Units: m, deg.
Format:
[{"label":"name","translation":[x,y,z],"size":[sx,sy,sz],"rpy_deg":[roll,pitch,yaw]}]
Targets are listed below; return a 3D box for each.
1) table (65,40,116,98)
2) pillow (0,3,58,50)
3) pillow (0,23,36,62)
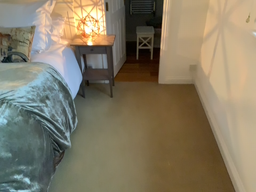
[{"label":"table","translation":[-0.430,-0.340,2.630],"size":[0.490,0.610,0.360],"rpy_deg":[1,33,3]},{"label":"pillow","translation":[-1.120,-0.730,2.200],"size":[0.620,0.380,0.350],"rpy_deg":[1,33,3]},{"label":"pillow","translation":[-1.110,-0.510,2.030],"size":[0.350,0.330,0.130],"rpy_deg":[3,-11,3]}]
